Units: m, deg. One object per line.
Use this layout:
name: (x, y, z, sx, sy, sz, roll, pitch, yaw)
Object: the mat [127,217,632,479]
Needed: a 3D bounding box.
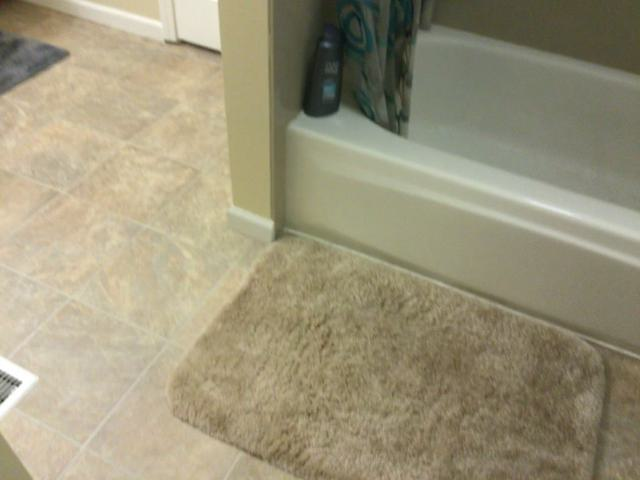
mat: (0.170, 0.340, 1.360, 0.980, 0.060, 0.690, 22, 47, 17)
